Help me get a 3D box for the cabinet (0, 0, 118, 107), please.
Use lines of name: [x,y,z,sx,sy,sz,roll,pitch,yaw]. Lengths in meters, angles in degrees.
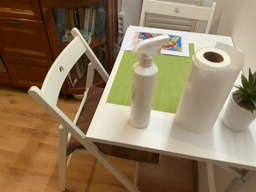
cabinet: [-0.490,-0.470,1.610,0.730,0.850,0.580,8,44,5]
